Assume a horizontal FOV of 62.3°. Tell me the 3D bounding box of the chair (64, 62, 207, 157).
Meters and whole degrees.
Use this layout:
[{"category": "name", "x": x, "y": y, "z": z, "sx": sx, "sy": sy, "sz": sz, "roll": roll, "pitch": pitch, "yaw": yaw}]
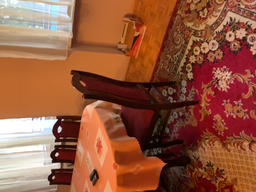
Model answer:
[{"category": "chair", "x": 0.040, "y": 0.070, "z": 1.700, "sx": 0.430, "sy": 0.970, "sz": 0.510, "roll": 49, "pitch": 133, "yaw": 51}]
